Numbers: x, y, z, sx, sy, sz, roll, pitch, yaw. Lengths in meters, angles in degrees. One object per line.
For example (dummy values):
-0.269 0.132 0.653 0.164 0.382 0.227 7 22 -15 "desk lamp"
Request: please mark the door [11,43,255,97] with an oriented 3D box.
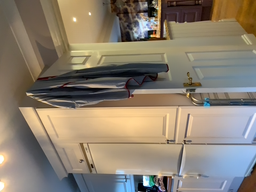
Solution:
0.310 -0.260 1.740 0.990 2.050 0.090 -81 -11 -65 "door"
